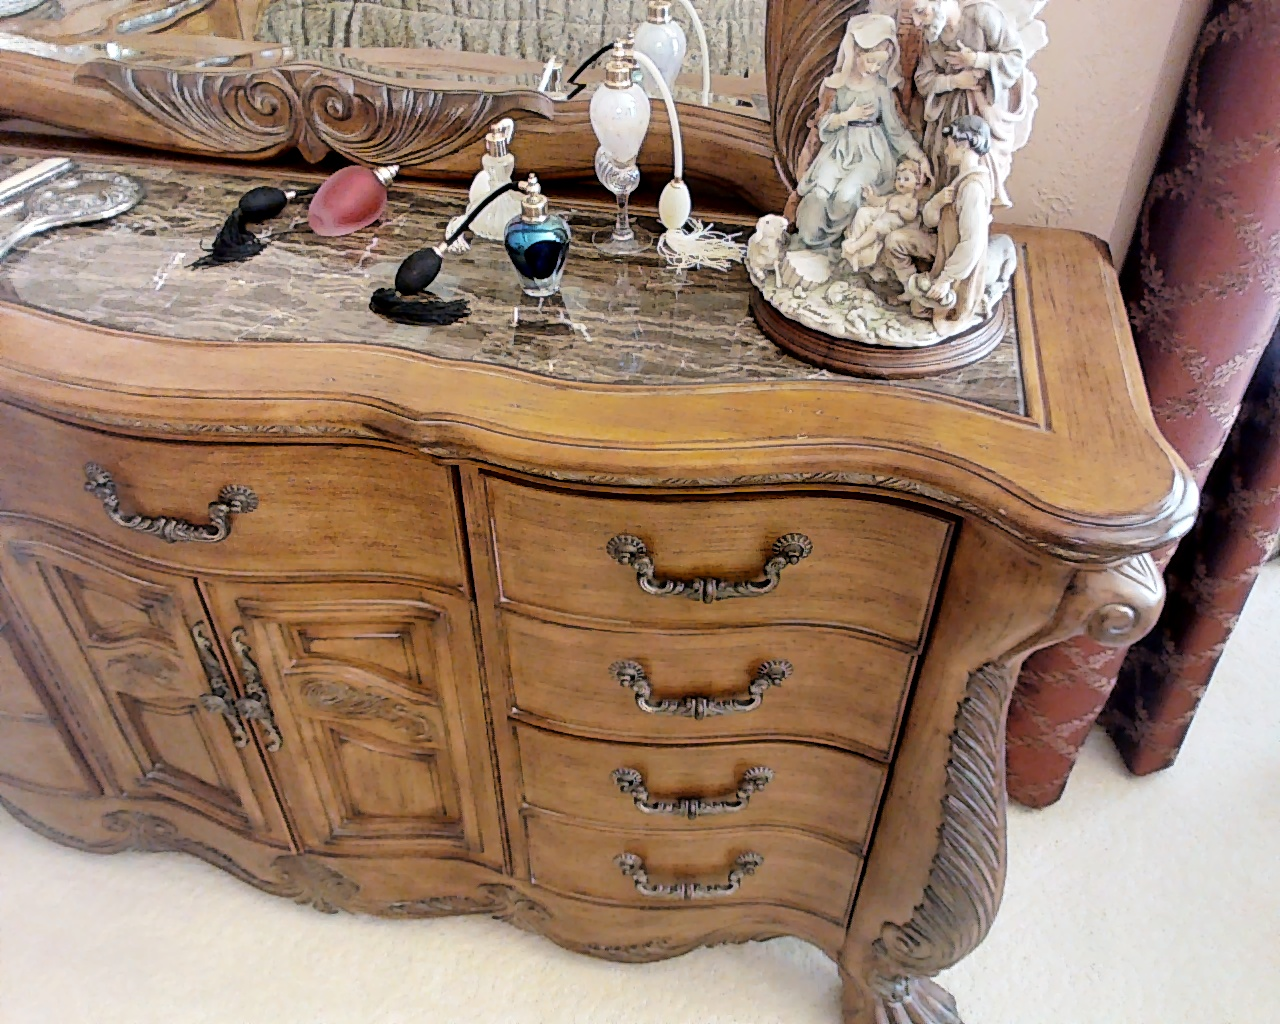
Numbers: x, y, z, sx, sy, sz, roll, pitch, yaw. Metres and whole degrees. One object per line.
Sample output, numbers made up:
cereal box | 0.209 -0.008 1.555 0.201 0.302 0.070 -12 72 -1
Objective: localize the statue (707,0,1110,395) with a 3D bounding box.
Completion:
statue | 0.230 -0.360 0.890 0.260 0.400 0.260 15 44 16

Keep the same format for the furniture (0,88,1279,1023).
furniture | -0.400 0.120 1.420 1.920 1.070 0.570 9 43 9
